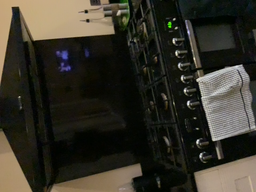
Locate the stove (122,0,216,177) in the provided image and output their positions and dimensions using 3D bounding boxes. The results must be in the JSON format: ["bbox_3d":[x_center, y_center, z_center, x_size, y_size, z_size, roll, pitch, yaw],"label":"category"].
[{"bbox_3d":[0.220,-0.070,1.520,0.620,0.190,1.110,143,116,-74],"label":"stove"}]
